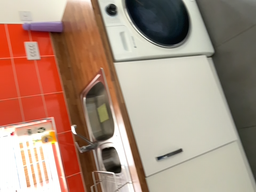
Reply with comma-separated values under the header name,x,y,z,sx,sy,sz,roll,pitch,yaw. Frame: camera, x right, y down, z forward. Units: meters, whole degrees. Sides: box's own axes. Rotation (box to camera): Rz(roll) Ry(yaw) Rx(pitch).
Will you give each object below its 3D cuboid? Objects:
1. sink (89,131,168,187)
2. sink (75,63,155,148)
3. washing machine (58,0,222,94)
name,x,y,z,sx,sy,sz,roll,pitch,yaw
sink,-0.030,0.390,1.330,0.520,0.240,0.220,-31,71,58
sink,-0.120,0.090,1.390,0.520,0.240,0.410,-31,71,58
washing machine,0.050,-0.460,1.610,0.670,0.910,0.600,-31,71,58
